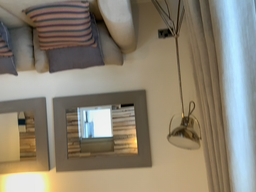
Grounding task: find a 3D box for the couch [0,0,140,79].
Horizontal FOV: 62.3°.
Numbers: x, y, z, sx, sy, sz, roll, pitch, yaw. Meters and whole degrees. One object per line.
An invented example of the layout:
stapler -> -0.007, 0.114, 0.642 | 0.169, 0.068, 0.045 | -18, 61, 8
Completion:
couch -> -0.880, -0.620, 1.690 | 1.850, 0.780, 0.930 | -4, 177, 6
